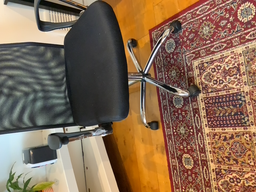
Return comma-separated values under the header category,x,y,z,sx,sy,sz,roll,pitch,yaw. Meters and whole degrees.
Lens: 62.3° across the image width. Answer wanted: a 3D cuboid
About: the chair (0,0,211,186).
category,x,y,z,sx,sy,sz,roll,pitch,yaw
chair,-0.270,-0.060,1.070,0.740,1.050,0.680,-19,77,51
